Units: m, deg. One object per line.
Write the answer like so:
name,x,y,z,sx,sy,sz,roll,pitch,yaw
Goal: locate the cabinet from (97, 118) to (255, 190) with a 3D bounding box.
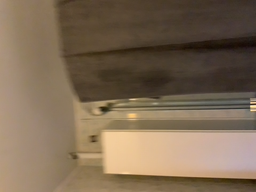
cabinet,0.960,0.360,1.370,0.290,2.300,0.380,-35,-57,-77
